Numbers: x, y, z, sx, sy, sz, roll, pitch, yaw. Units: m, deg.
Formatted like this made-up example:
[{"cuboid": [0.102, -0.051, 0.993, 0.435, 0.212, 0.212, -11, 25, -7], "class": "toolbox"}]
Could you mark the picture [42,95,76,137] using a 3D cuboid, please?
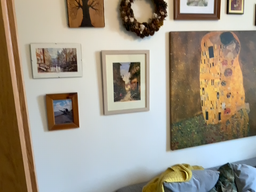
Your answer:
[{"cuboid": [-0.450, 0.130, 1.390, 0.190, 0.260, 0.010, -6, 11, -17], "class": "picture"}]
